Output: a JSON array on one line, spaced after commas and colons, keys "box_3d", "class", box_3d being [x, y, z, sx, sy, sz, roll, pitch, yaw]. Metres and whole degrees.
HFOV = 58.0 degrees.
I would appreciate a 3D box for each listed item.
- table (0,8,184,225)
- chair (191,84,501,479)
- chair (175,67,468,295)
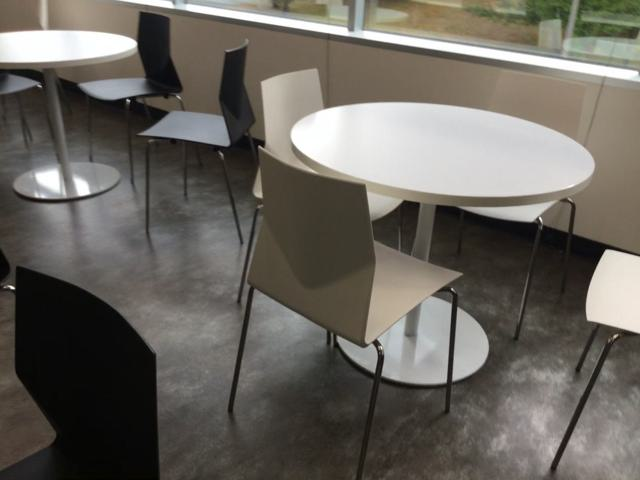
[{"box_3d": [-1.410, -0.730, 3.070, 0.920, 0.800, 0.930, 24, 34, 33], "class": "table"}, {"box_3d": [0.050, 0.100, 1.580, 0.510, 0.870, 0.550, 24, 34, 33], "class": "chair"}, {"box_3d": [0.010, -0.260, 1.940, 0.620, 0.440, 0.710, 24, 34, 33], "class": "chair"}]
